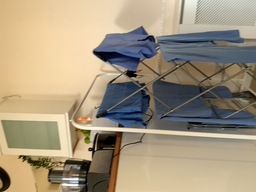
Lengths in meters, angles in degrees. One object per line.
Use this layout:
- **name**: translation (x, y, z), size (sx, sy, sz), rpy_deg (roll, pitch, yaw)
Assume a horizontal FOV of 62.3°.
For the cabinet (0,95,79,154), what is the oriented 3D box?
- **cabinet**: translation (-0.980, 0.290, 2.200), size (0.310, 0.840, 0.480), rpy_deg (-85, -3, -66)
